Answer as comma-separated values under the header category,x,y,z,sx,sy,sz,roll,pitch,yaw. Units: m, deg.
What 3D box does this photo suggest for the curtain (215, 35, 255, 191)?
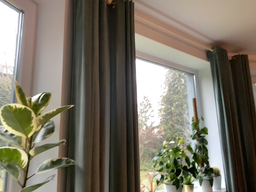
category,x,y,z,sx,sy,sz,roll,pitch,yaw
curtain,1.670,0.640,2.910,0.700,2.870,0.300,8,-15,-38

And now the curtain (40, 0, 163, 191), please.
category,x,y,z,sx,sy,sz,roll,pitch,yaw
curtain,-0.130,0.440,1.460,0.310,2.850,0.810,-11,-15,41
